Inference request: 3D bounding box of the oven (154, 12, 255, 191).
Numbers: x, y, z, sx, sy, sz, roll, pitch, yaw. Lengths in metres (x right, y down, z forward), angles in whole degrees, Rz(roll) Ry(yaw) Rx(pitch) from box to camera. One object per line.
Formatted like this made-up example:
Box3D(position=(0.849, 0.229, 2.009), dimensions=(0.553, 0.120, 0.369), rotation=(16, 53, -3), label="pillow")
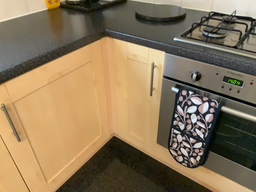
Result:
Box3D(position=(0.570, -0.010, 1.130), dimensions=(0.600, 0.630, 0.580), rotation=(23, 42, 29), label="oven")
